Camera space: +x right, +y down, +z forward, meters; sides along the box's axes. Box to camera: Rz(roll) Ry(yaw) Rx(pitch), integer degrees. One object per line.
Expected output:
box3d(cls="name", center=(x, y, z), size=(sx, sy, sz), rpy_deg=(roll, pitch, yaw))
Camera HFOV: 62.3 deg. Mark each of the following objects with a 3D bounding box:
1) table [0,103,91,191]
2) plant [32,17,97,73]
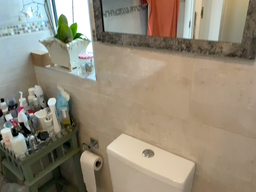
box3d(cls="table", center=(-0.520, 0.500, 1.350), size=(0.360, 0.760, 0.370), rpy_deg=(16, 31, 33))
box3d(cls="plant", center=(-0.340, -0.290, 1.160), size=(0.270, 0.240, 0.190), rpy_deg=(19, 32, 37))
